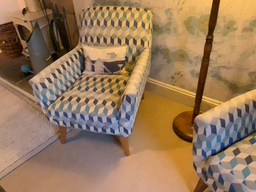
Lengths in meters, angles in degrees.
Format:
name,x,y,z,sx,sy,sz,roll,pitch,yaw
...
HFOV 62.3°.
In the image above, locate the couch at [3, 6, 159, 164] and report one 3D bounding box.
name,x,y,z,sx,sy,sz,roll,pitch,yaw
couch,-0.210,-0.150,1.670,0.730,0.820,0.860,8,39,15
